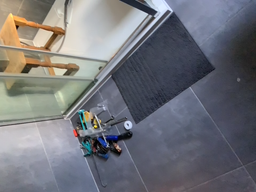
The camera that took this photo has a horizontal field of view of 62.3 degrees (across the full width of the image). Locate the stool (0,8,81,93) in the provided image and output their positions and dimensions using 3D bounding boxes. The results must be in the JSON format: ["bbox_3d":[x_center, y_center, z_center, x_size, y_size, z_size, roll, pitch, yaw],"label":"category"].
[{"bbox_3d":[-0.740,-0.320,1.680,0.380,0.470,0.450,-38,69,34],"label":"stool"}]
